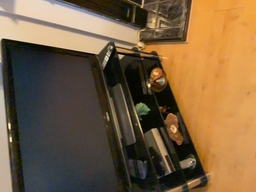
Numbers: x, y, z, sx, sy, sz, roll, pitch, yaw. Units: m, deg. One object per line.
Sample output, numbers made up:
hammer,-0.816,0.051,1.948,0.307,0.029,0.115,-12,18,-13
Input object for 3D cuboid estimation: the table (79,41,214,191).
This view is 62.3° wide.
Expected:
table,0.090,0.210,1.560,0.460,0.550,1.040,-35,63,42
